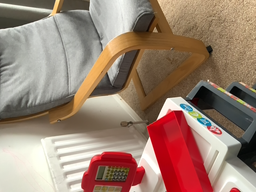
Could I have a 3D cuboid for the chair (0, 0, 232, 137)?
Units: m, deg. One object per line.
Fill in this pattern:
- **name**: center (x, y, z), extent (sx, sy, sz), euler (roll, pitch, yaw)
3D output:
- **chair**: center (-0.280, -0.320, 1.040), extent (0.830, 0.980, 0.710), euler (-45, 56, 48)
